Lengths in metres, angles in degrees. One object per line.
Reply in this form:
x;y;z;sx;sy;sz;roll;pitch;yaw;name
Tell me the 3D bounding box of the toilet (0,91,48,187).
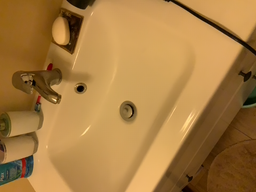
-0.390;0.140;0.650;0.110;0.160;0.300;41;115;28;toilet
